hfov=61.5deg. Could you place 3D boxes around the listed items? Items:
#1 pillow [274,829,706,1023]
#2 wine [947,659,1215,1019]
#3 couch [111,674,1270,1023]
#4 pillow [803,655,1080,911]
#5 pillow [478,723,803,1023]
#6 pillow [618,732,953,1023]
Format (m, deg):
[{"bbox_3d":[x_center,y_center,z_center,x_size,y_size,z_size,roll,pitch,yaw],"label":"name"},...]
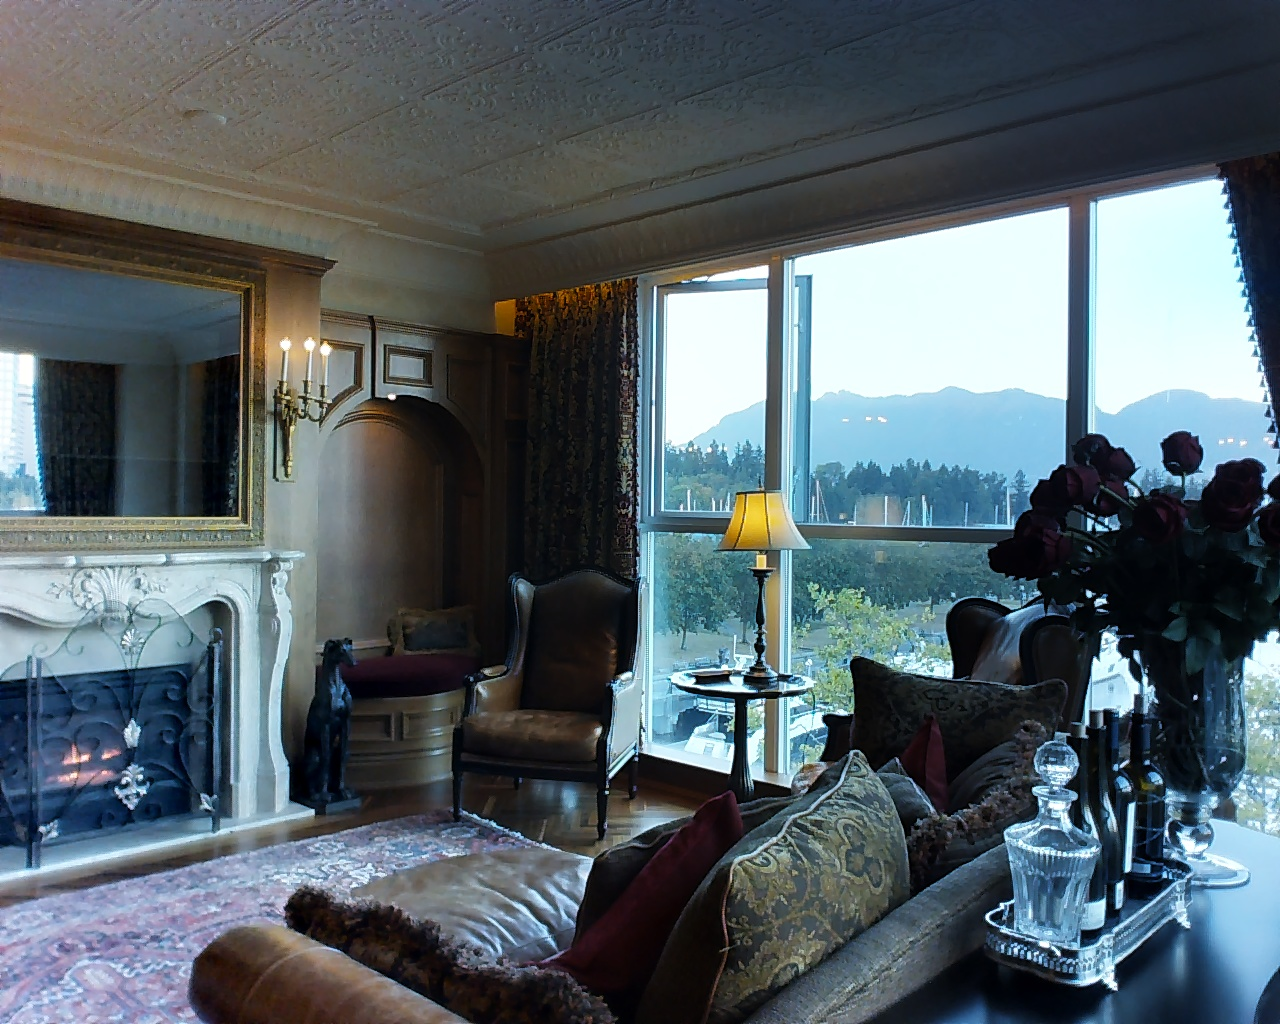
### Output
[{"bbox_3d":[-0.260,0.750,1.600,0.750,0.350,0.220,1,0,44],"label":"pillow"},{"bbox_3d":[0.680,0.450,1.620,0.190,0.390,0.520,1,0,44],"label":"wine"},{"bbox_3d":[0.330,0.970,2.190,1.130,0.920,2.280,1,0,44],"label":"couch"},{"bbox_3d":[0.780,0.670,2.820,0.600,0.500,0.350,1,0,44],"label":"pillow"},{"bbox_3d":[0.020,0.660,1.680,0.190,0.500,0.420,1,16,44],"label":"pillow"},{"bbox_3d":[0.240,0.560,1.560,0.250,0.350,0.600,1,0,33],"label":"pillow"}]
